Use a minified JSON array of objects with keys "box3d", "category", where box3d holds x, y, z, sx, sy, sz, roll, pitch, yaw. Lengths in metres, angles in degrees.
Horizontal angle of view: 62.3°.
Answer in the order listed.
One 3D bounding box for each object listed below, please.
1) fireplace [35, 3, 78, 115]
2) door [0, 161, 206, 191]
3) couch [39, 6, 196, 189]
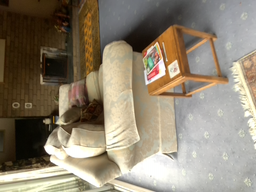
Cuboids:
[{"box3d":[-1.640,-0.740,4.750,0.850,0.710,2.230,-20,72,57],"category":"fireplace"},{"box3d":[-0.260,0.770,1.060,5.960,2.270,0.060,-18,73,57],"category":"door"},{"box3d":[-0.380,0.170,2.410,1.960,0.890,1.200,-21,70,57],"category":"couch"}]
